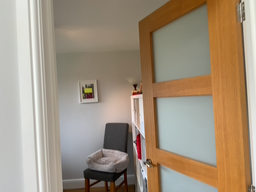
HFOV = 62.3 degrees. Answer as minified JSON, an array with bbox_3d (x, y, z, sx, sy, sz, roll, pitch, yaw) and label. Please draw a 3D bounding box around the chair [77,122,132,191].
[{"bbox_3d":[-0.320,0.940,3.090,0.510,1.030,0.630,-2,0,25],"label":"chair"}]
